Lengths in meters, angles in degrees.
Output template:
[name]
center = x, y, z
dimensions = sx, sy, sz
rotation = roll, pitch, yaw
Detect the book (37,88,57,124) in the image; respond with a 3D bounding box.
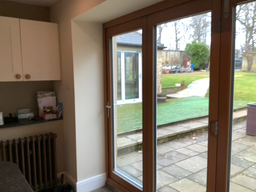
[book]
center = -1.110, 0.130, 2.900
dimensions = 0.190, 0.450, 0.180
rotation = -5, 8, -36
